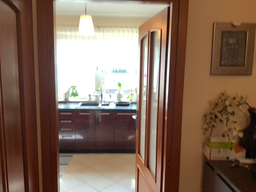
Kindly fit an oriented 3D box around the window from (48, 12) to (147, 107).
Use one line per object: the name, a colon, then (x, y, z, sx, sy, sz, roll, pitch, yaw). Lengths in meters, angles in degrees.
window: (-0.590, -0.700, 4.220, 1.880, 1.790, 0.180, 1, 8, -1)
